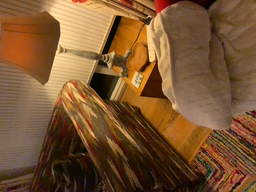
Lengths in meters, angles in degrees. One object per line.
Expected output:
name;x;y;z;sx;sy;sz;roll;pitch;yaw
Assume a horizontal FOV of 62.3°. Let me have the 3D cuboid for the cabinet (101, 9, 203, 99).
cabinet;0.160;-0.340;1.750;0.600;0.410;0.460;47;121;40
